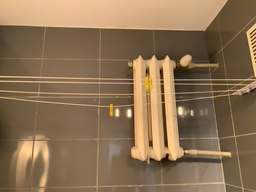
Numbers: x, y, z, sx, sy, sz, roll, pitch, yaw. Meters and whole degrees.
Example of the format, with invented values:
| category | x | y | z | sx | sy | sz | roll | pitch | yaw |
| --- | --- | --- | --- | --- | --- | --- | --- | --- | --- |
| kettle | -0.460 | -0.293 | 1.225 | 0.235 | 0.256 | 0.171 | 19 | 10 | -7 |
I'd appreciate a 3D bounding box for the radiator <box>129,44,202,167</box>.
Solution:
| category | x | y | z | sx | sy | sz | roll | pitch | yaw |
| --- | --- | --- | --- | --- | --- | --- | --- | --- | --- |
| radiator | 0.180 | 0.050 | 1.190 | 0.340 | 0.650 | 0.190 | 0 | -16 | -1 |
